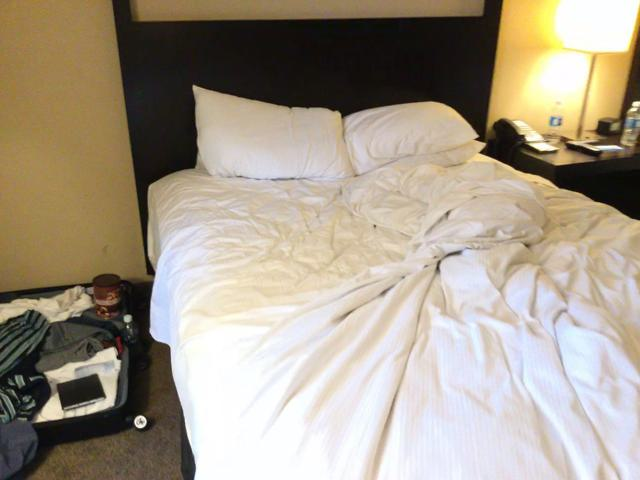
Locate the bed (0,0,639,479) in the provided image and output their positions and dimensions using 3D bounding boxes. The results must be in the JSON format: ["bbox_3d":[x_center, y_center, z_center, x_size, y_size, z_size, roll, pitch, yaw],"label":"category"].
[{"bbox_3d":[0.340,0.020,1.680,1.730,1.400,2.300,-10,23,-15],"label":"bed"}]

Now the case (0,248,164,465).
[{"bbox_3d":[-0.970,0.370,2.100,0.690,0.270,0.890,-10,23,-15],"label":"case"}]
